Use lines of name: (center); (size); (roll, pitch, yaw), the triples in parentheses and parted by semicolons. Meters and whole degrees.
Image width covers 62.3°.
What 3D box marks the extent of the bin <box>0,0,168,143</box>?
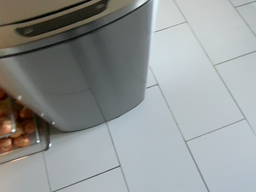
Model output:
bin: (-0.180, -0.120, 0.710); (0.440, 0.640, 0.300); (-19, 68, -7)
